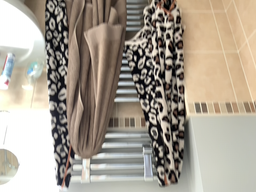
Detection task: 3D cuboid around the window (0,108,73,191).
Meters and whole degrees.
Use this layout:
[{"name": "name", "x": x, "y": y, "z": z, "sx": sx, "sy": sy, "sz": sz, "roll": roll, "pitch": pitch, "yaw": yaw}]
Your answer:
[{"name": "window", "x": -0.590, "y": 0.560, "z": 0.980, "sx": 0.560, "sy": 1.030, "sz": 0.140, "roll": 1, "pitch": 155, "yaw": -6}]
